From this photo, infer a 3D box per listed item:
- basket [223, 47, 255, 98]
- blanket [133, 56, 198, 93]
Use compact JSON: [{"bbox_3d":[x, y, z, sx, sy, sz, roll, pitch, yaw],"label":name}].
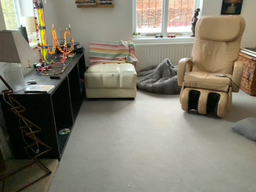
[{"bbox_3d":[2.050,-0.410,3.410,0.620,0.590,0.860,0,22,1],"label":"basket"},{"bbox_3d":[0.560,-0.380,3.510,0.920,0.400,0.760,-1,22,-1],"label":"blanket"}]
